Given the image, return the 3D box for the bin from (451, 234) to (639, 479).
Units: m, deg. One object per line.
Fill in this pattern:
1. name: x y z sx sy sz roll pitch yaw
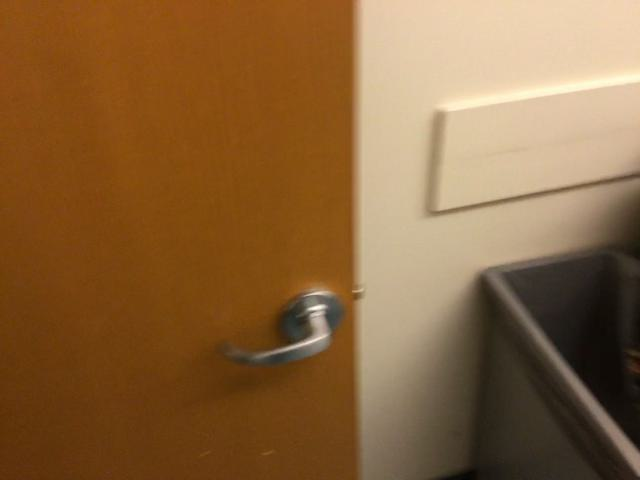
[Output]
1. bin: 0.530 0.470 1.130 0.350 0.780 0.490 -9 32 -8
